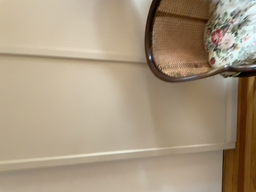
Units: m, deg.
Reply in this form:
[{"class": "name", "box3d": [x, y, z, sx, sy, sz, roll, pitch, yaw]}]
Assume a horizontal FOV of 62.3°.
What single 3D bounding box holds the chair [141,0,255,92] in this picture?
[{"class": "chair", "box3d": [0.570, -0.350, 1.170, 0.600, 0.800, 0.560, 161, 108, -68]}]
